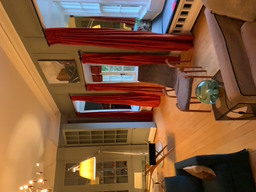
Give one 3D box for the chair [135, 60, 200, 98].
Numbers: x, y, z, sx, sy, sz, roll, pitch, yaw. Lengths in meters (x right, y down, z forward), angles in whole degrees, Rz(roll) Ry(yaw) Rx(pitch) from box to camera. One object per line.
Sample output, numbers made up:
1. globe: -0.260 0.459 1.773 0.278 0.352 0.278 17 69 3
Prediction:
1. chair: 0.690 -0.350 4.070 0.850 0.980 0.490 -107 18 -69
